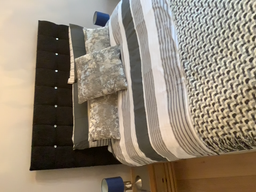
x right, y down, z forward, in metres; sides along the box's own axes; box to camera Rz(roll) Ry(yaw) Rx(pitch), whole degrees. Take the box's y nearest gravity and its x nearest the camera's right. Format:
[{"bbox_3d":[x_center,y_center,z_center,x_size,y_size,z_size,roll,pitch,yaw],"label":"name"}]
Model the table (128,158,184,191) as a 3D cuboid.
[{"bbox_3d":[0.280,0.860,2.140,0.320,0.420,0.390,-37,53,55],"label":"table"}]
